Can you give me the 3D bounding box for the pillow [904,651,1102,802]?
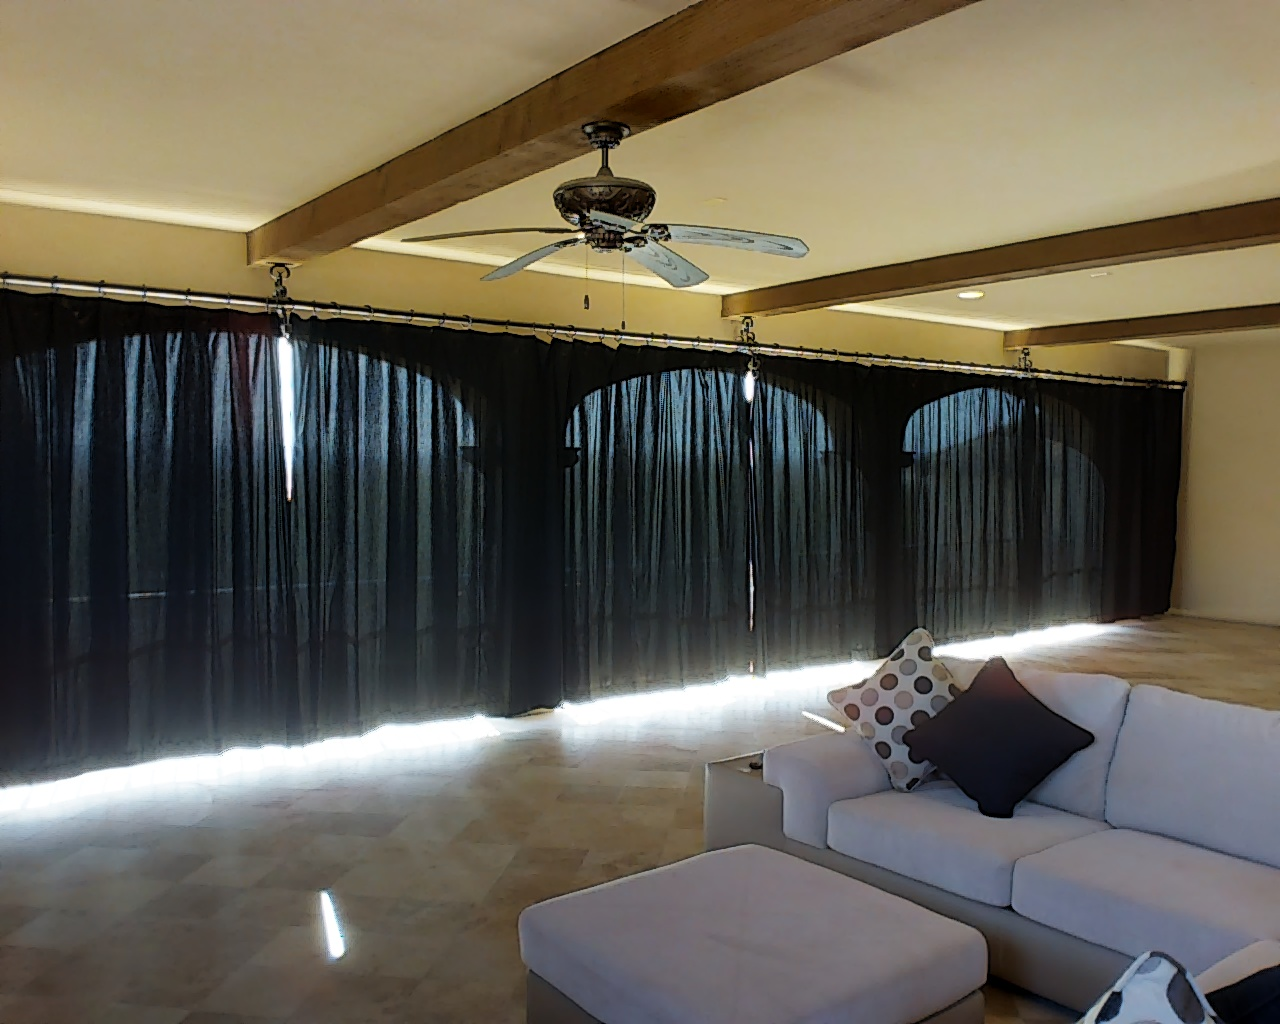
[{"bbox_3d":[1.250,0.760,3.740,0.420,0.220,0.480,41,-25,3],"label":"pillow"}]
